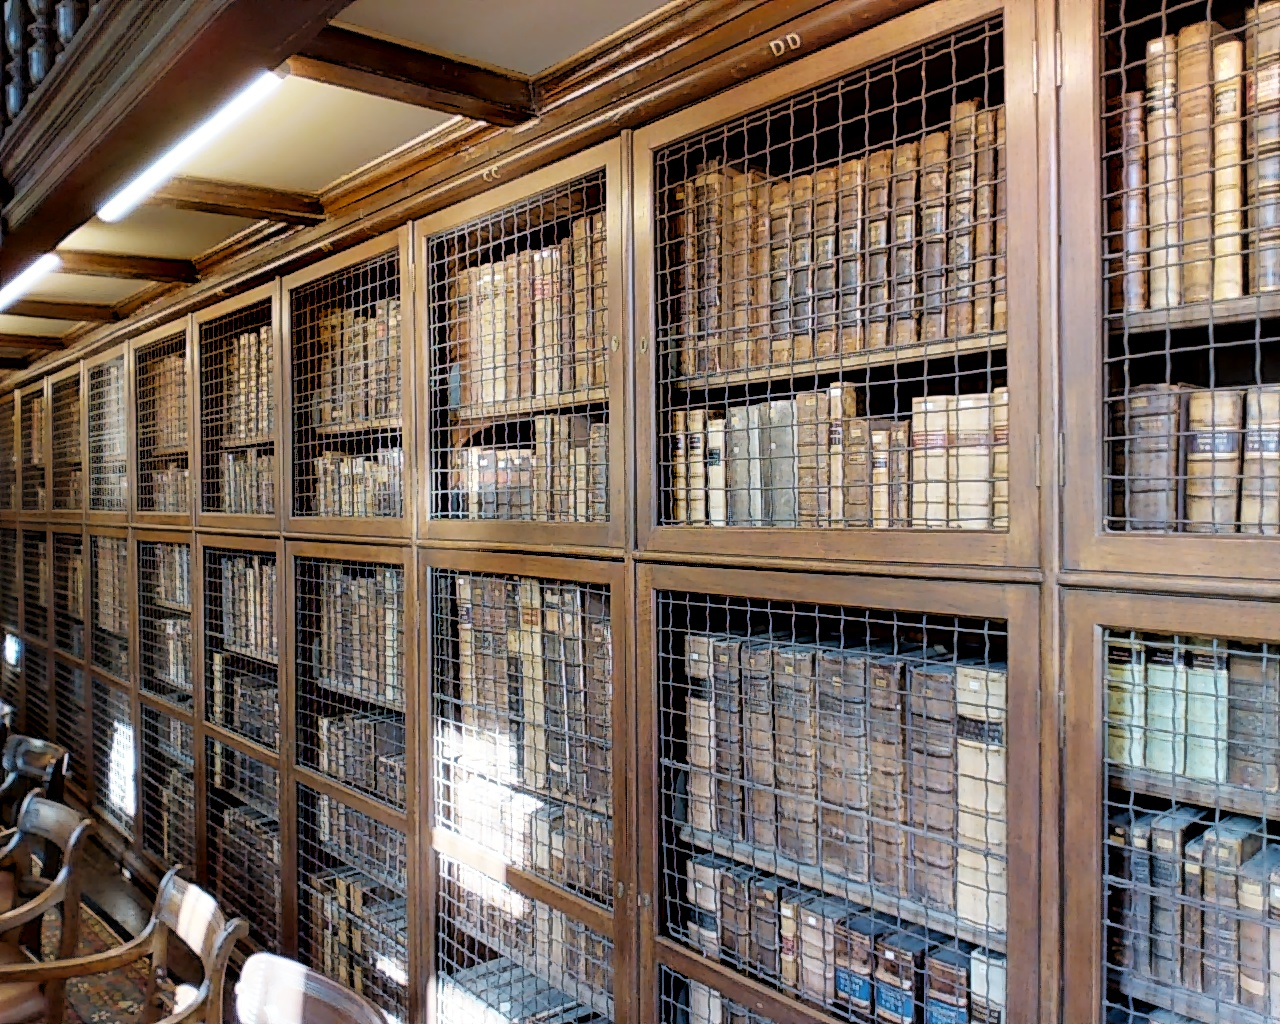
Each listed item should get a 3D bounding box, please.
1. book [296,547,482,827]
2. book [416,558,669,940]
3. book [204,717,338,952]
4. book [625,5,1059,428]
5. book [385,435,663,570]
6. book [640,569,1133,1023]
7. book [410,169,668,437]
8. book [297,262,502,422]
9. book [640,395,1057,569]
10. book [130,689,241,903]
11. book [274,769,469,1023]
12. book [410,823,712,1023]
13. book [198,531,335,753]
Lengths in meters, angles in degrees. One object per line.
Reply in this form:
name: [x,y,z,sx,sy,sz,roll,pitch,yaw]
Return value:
book: [-0.710,0.440,2.960,0.210,0.660,0.690,-1,1,-39]
book: [-0.240,0.450,2.310,0.140,0.670,0.760,-1,1,-39]
book: [-1.240,1.040,3.570,0.190,0.600,0.640,-1,1,-41]
book: [0.280,-0.400,1.680,0.200,0.490,0.680,-1,1,-43]
book: [-0.280,-0.020,2.320,0.150,0.250,0.780,-1,1,-44]
book: [0.330,0.440,1.670,0.180,0.660,0.790,-1,1,-41]
book: [-0.240,-0.410,2.300,0.150,0.460,0.690,-1,1,-44]
book: [-0.690,-0.450,3.000,0.260,0.340,0.690,-1,1,-41]
book: [0.280,-0.040,1.650,0.120,0.220,0.690,-2,2,-42]
book: [-1.789,1.080,4.200,0.190,0.660,0.700,-1,1,-41]
book: [-0.750,1.110,2.930,0.210,0.660,0.690,-1,1,-42]
book: [-0.200,1.150,2.320,0.240,0.740,0.770,-1,1,-41]
book: [-1.260,0.400,3.580,0.190,0.660,0.690,-1,1,-41]
